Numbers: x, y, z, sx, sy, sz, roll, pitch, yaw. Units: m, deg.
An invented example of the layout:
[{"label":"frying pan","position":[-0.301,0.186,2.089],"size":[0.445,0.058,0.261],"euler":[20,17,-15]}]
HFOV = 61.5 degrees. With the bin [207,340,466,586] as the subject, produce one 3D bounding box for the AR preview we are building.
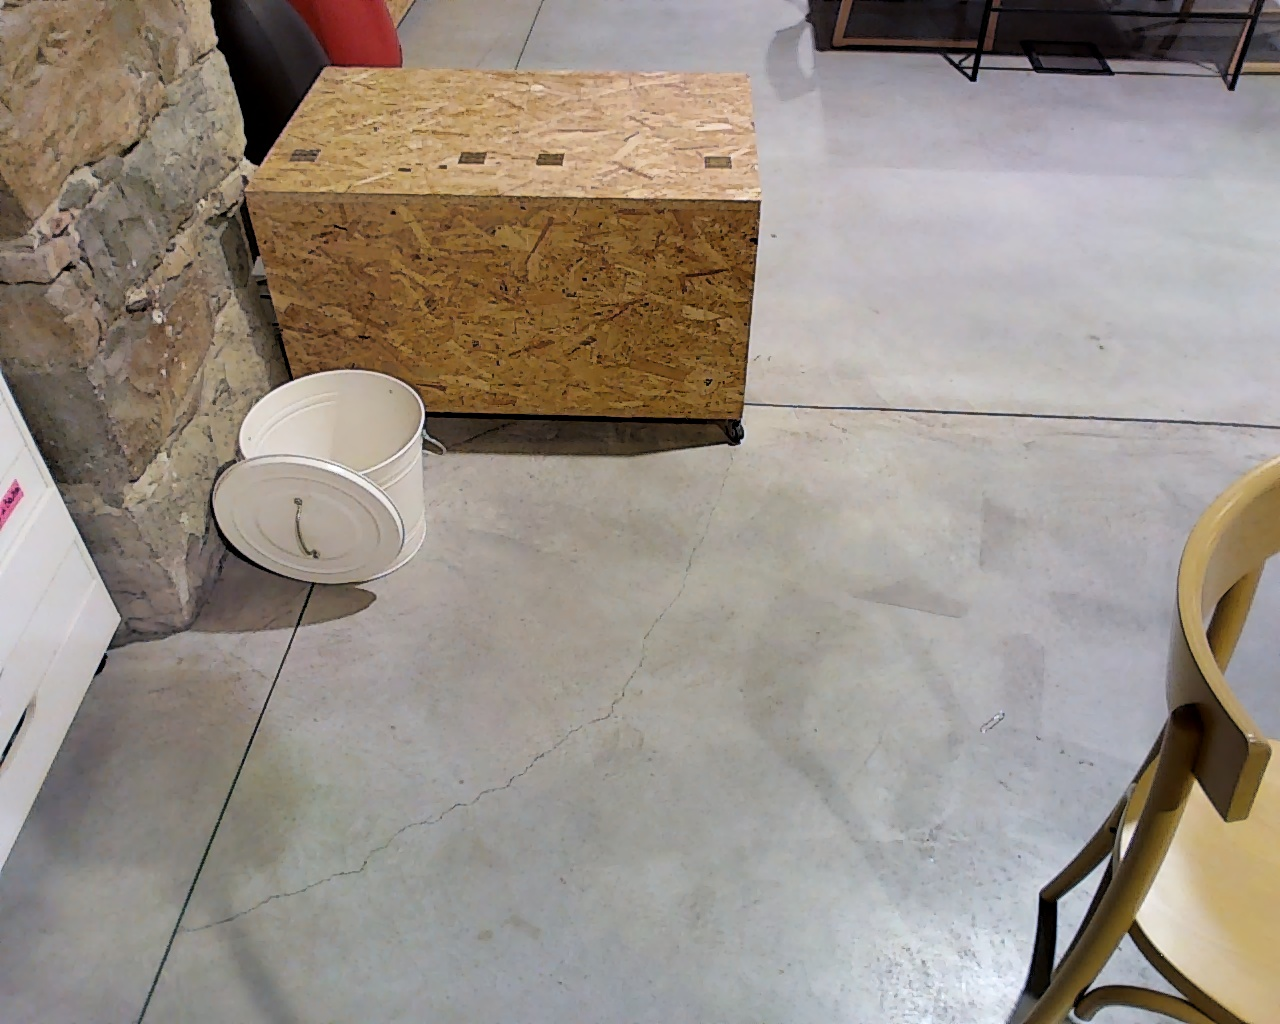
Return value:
[{"label":"bin","position":[-0.560,-0.100,2.080],"size":[0.350,0.290,0.370],"euler":[3,43,3]}]
